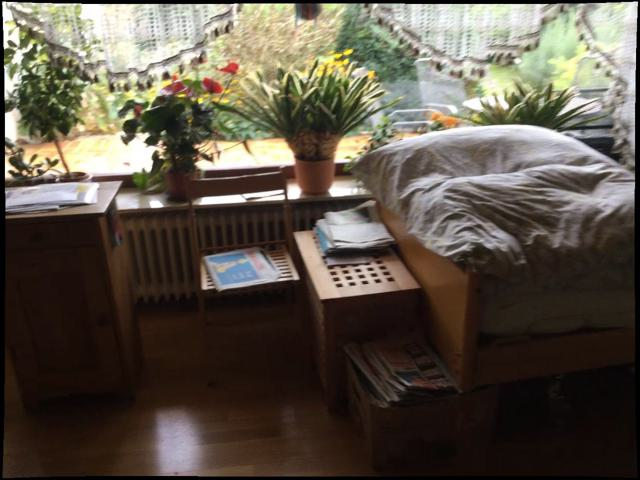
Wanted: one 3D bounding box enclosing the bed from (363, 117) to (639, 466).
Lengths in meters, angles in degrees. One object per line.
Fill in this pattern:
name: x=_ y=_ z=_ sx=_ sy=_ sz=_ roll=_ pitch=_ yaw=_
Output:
bed: x=1.349 y=0.050 z=2.400 sx=2.128 sy=0.821 sz=1.150 roll=-5 pitch=26 yaw=-7
